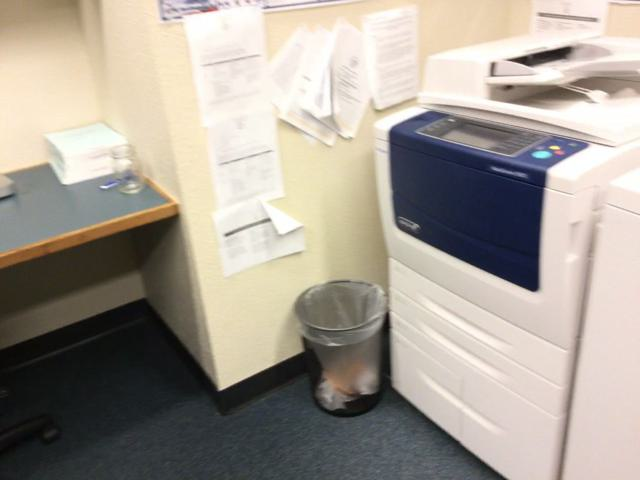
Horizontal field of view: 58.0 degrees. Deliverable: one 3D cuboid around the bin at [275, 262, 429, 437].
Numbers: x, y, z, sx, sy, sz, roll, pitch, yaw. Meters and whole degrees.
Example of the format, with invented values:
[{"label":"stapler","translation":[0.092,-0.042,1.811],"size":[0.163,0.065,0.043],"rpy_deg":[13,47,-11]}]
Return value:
[{"label":"bin","translation":[0.110,0.340,1.900],"size":[0.360,0.360,0.300],"rpy_deg":[-22,27,-27]}]
